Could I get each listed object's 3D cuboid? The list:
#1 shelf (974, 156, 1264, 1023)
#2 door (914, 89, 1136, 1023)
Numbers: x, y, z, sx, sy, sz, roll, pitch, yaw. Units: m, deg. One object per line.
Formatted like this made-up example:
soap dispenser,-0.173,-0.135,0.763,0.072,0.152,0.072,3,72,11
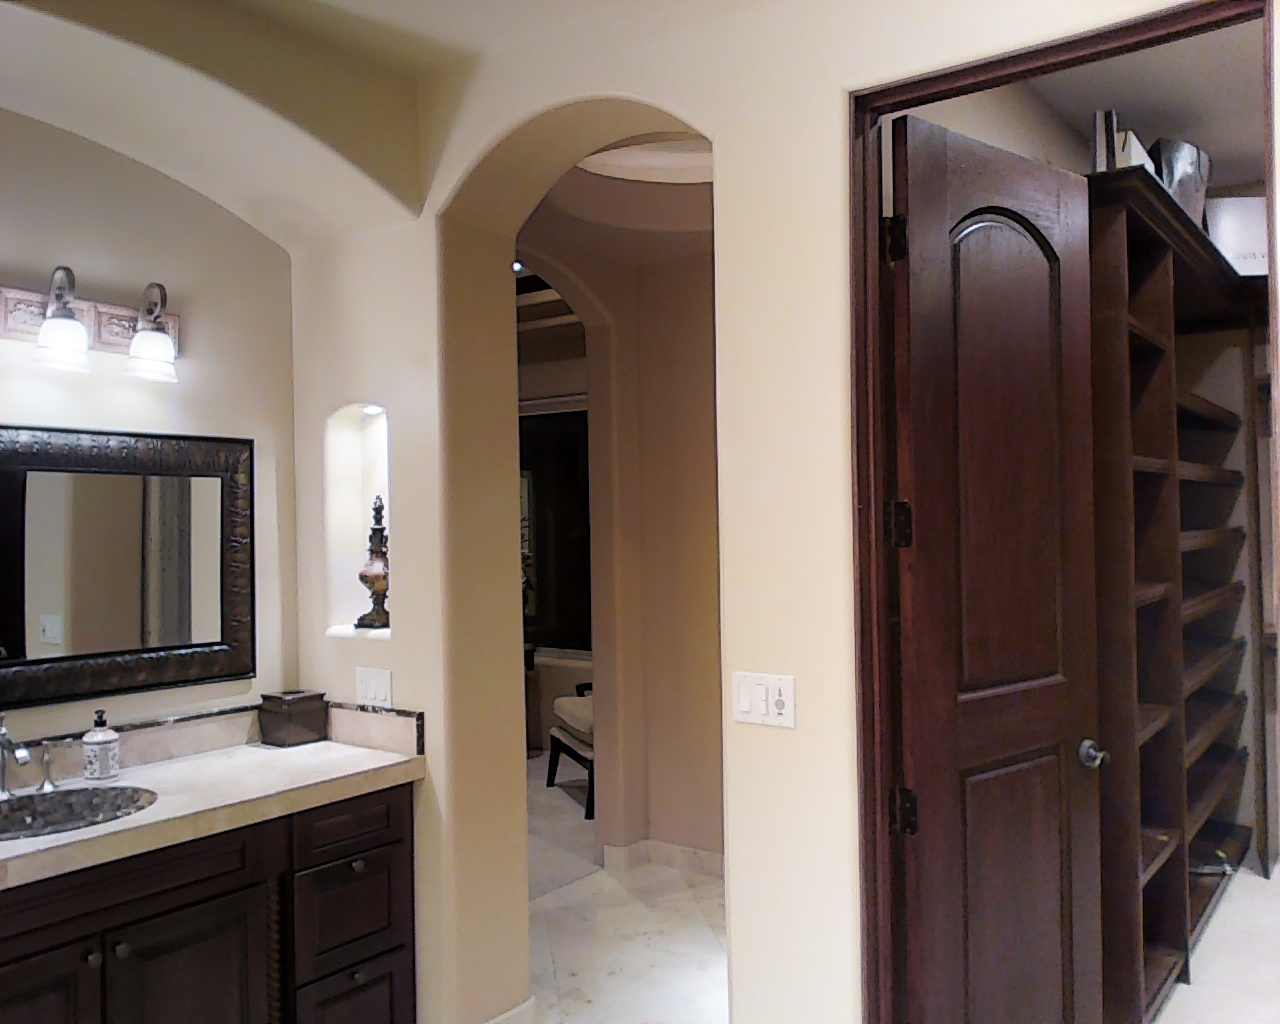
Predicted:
shelf,1.920,0.280,4.030,0.420,2.520,2.400,-2,-2,37
door,0.970,0.290,2.630,0.740,2.480,0.080,0,-2,-39
